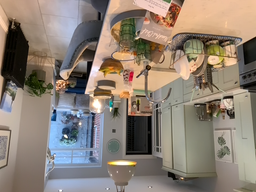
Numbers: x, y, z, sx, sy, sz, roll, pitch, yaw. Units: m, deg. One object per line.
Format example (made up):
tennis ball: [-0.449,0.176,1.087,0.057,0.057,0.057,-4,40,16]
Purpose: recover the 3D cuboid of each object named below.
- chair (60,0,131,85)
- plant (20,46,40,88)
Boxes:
chair: [-0.310,-0.660,2.010,0.550,0.970,0.550,3,169,-14]
plant: [-1.770,-0.510,3.850,0.220,0.670,0.370,4,169,-16]
